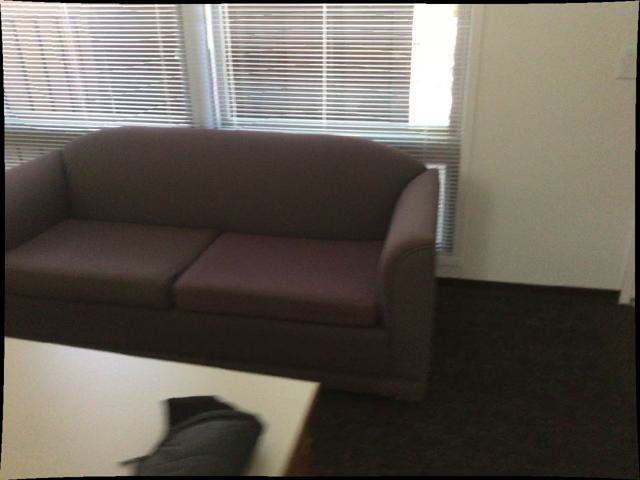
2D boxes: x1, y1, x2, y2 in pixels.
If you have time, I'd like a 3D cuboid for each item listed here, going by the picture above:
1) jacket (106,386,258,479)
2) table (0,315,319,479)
[{"bbox_3d":[-0.260,0.431,1.150,0.210,0.130,0.240,4,24,9],"label":"jacket"},{"bbox_3d":[-0.609,0.601,1.390,1.098,0.481,0.660,5,25,11],"label":"table"}]
